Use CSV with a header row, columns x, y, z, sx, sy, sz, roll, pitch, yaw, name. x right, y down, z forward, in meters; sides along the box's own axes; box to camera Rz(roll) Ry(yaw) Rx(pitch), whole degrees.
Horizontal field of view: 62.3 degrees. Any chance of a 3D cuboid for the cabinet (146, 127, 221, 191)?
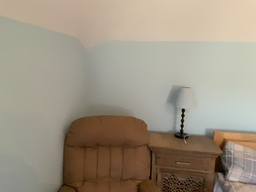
x,y,z,sx,sy,sz,roll,pitch,yaw,name
0.440,0.750,1.900,0.550,0.810,0.440,2,10,6,cabinet
